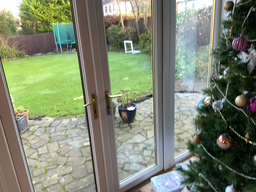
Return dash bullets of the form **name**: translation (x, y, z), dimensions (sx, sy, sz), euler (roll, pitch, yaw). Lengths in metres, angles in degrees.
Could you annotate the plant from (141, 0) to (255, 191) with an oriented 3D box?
- **plant**: translation (1.050, -0.190, 1.560), dimensions (1.310, 2.240, 1.330), euler (-19, 24, -37)
